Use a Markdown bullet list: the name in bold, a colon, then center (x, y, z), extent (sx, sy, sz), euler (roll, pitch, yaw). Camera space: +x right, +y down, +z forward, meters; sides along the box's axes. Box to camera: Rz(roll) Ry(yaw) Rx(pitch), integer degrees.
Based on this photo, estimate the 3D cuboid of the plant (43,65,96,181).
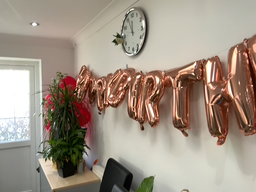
- **plant**: center (-0.630, 0.250, 2.250), extent (0.450, 1.070, 0.430), euler (-1, 0, -27)
